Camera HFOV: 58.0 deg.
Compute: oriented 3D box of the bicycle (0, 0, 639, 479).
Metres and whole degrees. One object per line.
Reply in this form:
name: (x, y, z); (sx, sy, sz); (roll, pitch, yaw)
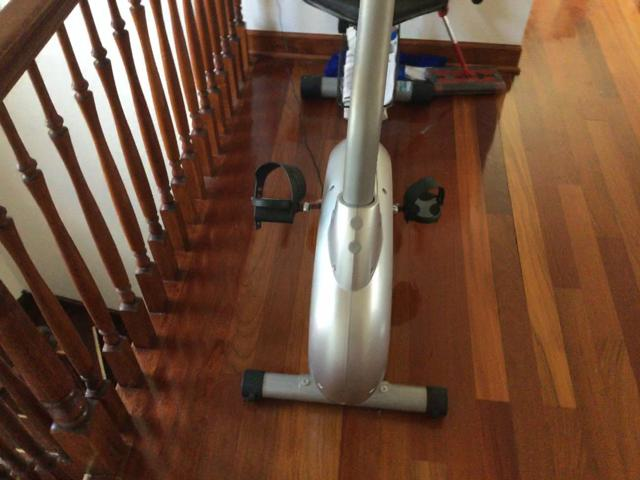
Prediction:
bicycle: (0.110, -0.490, 1.300); (0.770, 1.230, 1.740); (6, 51, 5)
